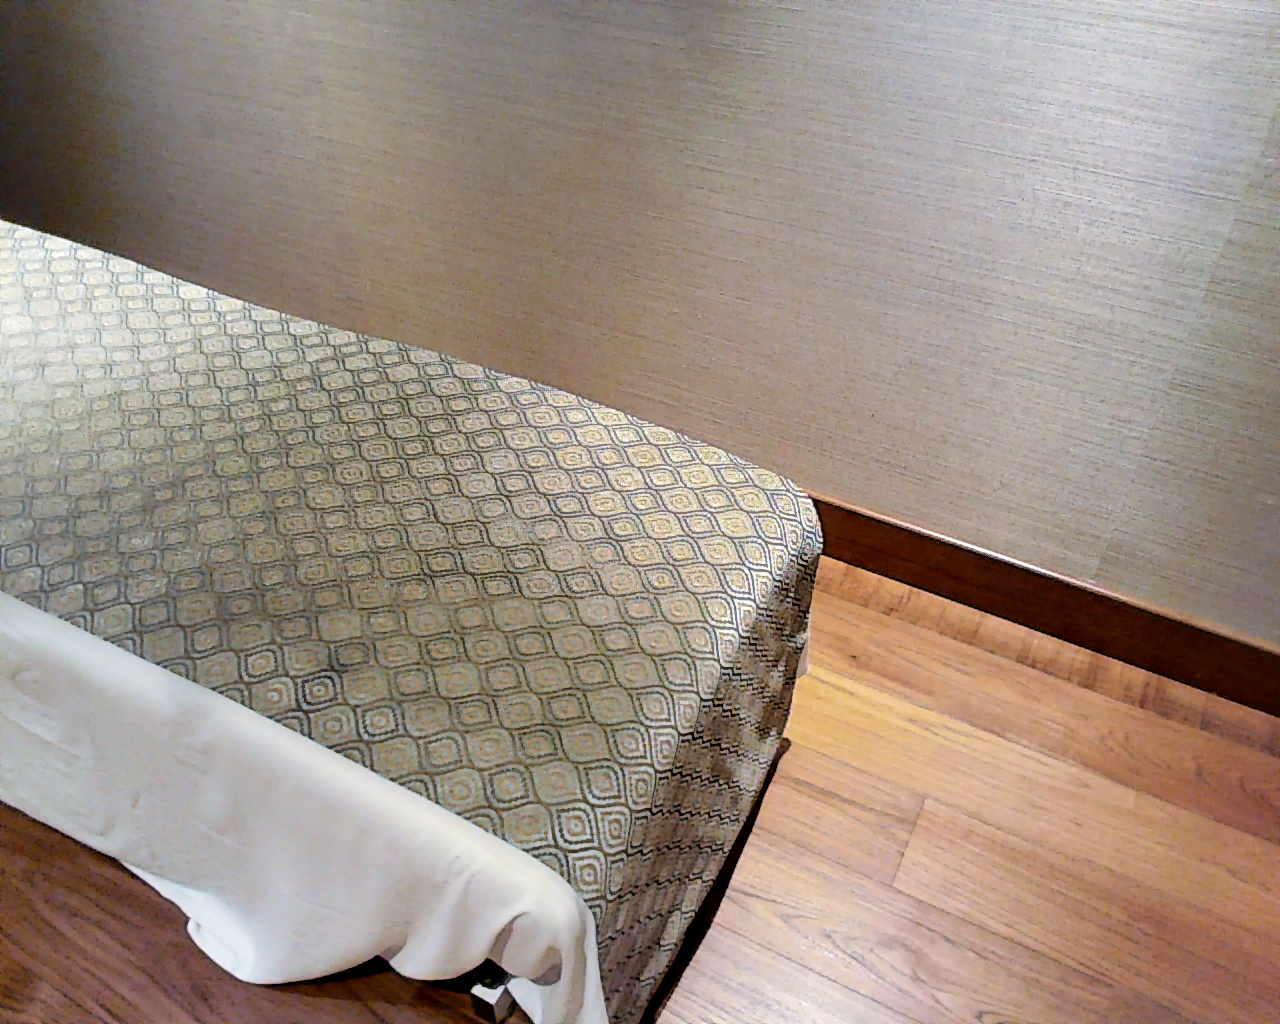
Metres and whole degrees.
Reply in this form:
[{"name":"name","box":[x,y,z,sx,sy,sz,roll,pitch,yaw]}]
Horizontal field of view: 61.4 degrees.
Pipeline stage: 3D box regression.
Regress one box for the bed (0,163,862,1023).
[{"name":"bed","box":[-0.840,0.040,1.840,2.160,0.710,0.830,19,46,19]}]
